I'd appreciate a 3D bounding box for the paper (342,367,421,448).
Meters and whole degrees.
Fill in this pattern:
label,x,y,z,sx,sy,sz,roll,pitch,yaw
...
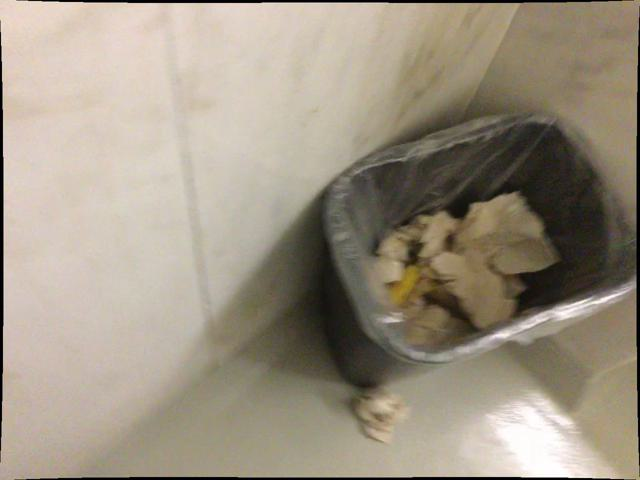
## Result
label,x,y,z,sx,sy,sz,roll,pitch,yaw
paper,0.110,0.310,1.060,0.090,0.100,0.100,-16,66,-18
